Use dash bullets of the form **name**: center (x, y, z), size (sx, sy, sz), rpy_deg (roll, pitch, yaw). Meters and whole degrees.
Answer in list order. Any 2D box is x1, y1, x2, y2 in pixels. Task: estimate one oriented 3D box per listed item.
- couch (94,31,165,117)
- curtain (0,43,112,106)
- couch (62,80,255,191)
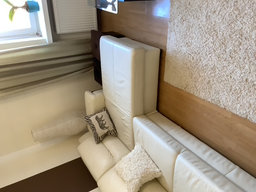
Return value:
- **couch**: center (-0.020, -0.310, 2.530), size (0.810, 0.420, 0.740), rpy_deg (36, 133, 48)
- **curtain**: center (-1.430, -0.230, 2.720), size (0.260, 2.660, 0.540), rpy_deg (39, 135, 46)
- **couch**: center (0.180, 0.770, 2.280), size (2.580, 0.870, 0.940), rpy_deg (35, 133, 48)
